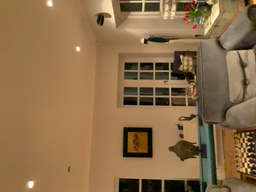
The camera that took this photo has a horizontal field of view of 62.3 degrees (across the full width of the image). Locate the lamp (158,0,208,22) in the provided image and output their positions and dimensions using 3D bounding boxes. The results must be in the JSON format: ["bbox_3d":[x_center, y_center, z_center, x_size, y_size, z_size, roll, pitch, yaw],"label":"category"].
[{"bbox_3d":[0.890,-1.430,3.520,0.380,0.740,0.220,83,-173,-76],"label":"lamp"}]

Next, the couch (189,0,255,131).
[{"bbox_3d":[1.270,-0.280,2.230,1.110,0.920,1.240,82,-171,-79],"label":"couch"}]
